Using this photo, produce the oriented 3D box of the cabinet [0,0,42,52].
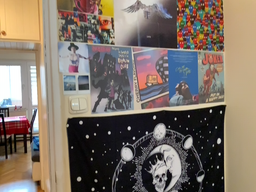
[{"bbox_3d":[-1.510,-0.890,2.550,0.800,0.560,0.650,-3,3,-28],"label":"cabinet"}]
